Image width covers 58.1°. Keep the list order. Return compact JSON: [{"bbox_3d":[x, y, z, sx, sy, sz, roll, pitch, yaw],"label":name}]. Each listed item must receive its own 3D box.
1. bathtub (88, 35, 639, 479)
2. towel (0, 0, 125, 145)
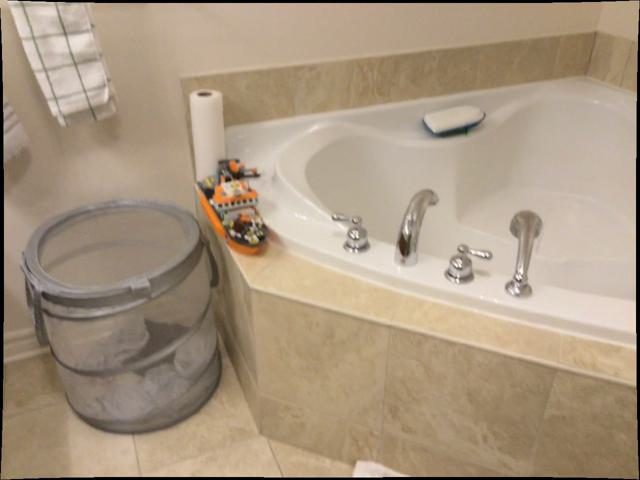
[{"bbox_3d":[0.689,0.010,1.700,2.009,0.700,1.440,13,34,18],"label":"bathtub"},{"bbox_3d":[-0.639,-0.460,1.430,0.220,0.390,0.150,-12,34,-20],"label":"towel"}]
